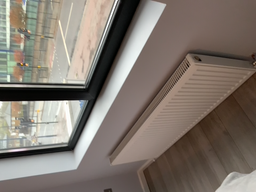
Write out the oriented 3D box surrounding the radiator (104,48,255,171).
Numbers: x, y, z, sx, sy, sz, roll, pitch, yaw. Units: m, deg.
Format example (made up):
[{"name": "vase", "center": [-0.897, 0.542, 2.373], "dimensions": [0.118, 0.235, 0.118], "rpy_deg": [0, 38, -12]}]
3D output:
[{"name": "radiator", "center": [0.290, 0.210, 1.530], "dimensions": [1.280, 0.560, 0.070], "rpy_deg": [-59, 41, 43]}]
